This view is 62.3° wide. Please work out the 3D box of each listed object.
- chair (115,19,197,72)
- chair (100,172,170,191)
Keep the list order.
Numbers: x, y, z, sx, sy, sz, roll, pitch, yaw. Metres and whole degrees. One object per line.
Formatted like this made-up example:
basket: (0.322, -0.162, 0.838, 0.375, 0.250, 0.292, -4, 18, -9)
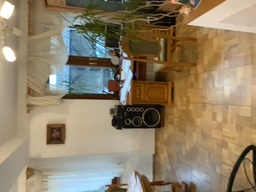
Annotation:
chair: (0.380, -0.680, 3.070, 0.600, 1.010, 0.540, 180, 91, -75)
chair: (0.100, 1.640, 3.690, 0.610, 1.090, 0.490, 135, 134, -68)
